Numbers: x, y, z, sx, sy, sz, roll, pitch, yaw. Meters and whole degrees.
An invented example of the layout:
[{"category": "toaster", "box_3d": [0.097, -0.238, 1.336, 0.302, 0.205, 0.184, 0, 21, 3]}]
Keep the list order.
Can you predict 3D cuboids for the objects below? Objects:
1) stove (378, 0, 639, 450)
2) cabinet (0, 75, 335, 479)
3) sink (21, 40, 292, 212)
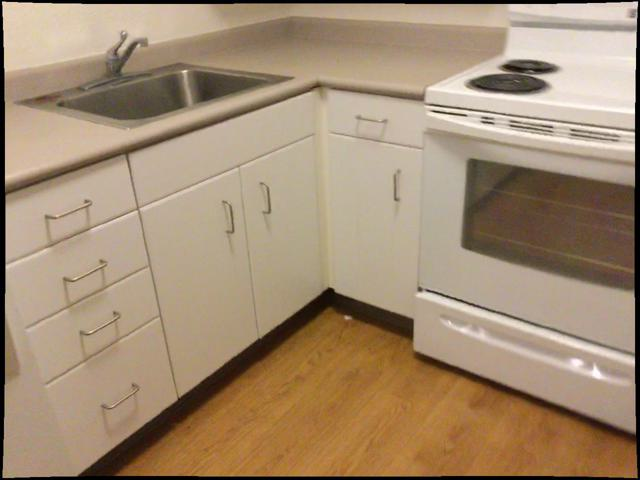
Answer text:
[{"category": "stove", "box_3d": [0.759, -0.190, 1.750, 0.889, 1.181, 0.740, 17, 35, 33]}, {"category": "cabinet", "box_3d": [-0.350, 0.090, 1.690, 0.120, 0.871, 1.100, 17, 36, 33]}, {"category": "sink", "box_3d": [-0.480, -0.390, 1.780, 0.550, 0.310, 0.530, 17, 36, 33]}]
